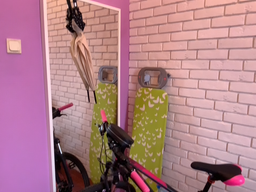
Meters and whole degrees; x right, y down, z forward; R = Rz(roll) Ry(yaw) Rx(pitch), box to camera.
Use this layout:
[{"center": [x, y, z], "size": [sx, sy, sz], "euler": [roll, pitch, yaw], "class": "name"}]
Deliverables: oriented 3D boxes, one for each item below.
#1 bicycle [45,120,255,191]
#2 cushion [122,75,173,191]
[{"center": [0.270, 0.780, 1.300], "size": [1.500, 0.830, 0.800], "euler": [9, 13, 39], "class": "bicycle"}, {"center": [0.150, 0.480, 1.890], "size": [0.370, 1.310, 0.180], "euler": [9, 12, 38], "class": "cushion"}]
